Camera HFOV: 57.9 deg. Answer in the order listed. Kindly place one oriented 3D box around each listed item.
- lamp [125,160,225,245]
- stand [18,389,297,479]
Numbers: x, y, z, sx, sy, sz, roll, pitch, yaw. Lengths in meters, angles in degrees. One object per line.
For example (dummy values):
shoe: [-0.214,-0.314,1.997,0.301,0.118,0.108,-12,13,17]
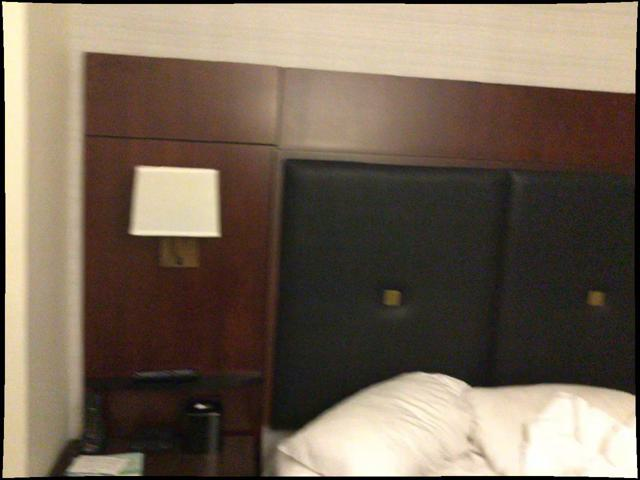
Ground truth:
lamp: [-0.440,-0.120,1.780,0.280,0.230,0.200,1,10,-10]
stand: [-0.470,0.911,1.790,0.699,0.701,0.520,1,10,-10]
